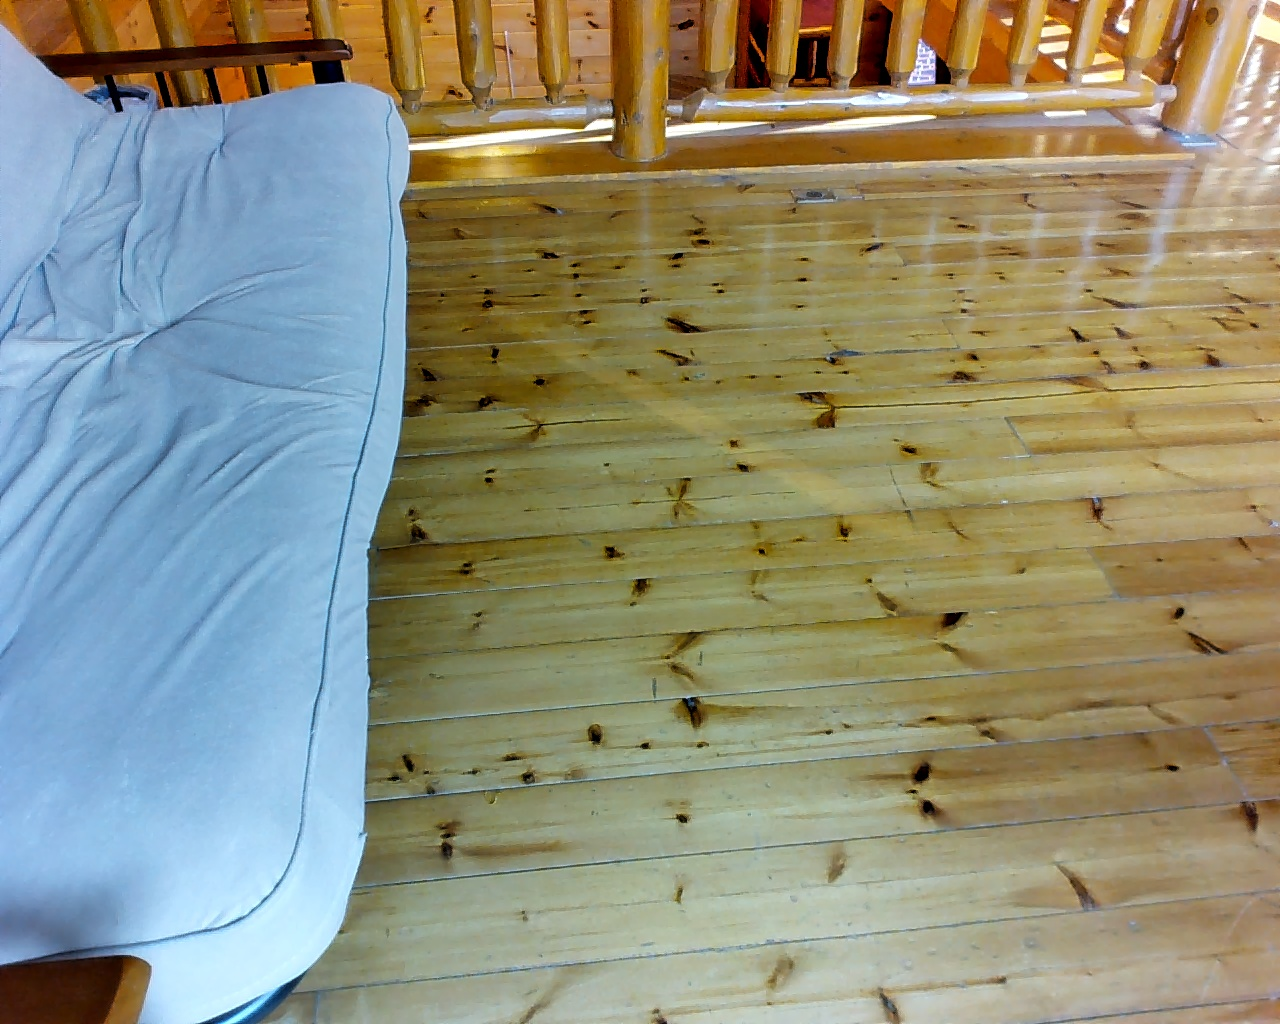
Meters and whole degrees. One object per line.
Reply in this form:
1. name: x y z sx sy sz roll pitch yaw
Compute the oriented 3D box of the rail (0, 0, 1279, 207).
1. rail: 1.630 -1.630 2.860 6.548 1.250 0.190 -4 40 -4
